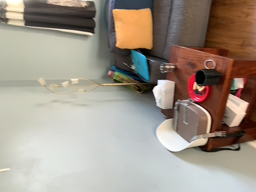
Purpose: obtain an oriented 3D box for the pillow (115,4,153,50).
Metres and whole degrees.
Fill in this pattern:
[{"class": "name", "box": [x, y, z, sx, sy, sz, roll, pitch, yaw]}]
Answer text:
[{"class": "pillow", "box": [0.070, -0.680, 2.140, 0.100, 0.370, 0.410, 7, 104, 54]}]
